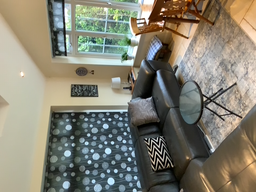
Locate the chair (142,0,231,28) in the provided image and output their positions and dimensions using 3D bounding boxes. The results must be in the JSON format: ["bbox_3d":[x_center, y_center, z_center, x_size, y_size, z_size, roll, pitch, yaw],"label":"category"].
[{"bbox_3d":[0.650,-1.240,2.520,0.480,0.850,0.600,116,151,-61],"label":"chair"}]

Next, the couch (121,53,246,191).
[{"bbox_3d":[0.570,0.770,2.830,1.070,0.750,2.980,104,161,-45],"label":"couch"}]
